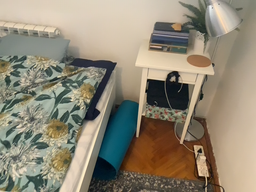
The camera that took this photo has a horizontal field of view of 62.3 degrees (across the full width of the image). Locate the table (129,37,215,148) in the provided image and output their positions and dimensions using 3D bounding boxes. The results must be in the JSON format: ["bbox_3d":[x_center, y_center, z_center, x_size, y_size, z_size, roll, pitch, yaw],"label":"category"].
[{"bbox_3d":[0.280,-0.010,1.590,0.460,0.700,0.360,8,40,6],"label":"table"}]
